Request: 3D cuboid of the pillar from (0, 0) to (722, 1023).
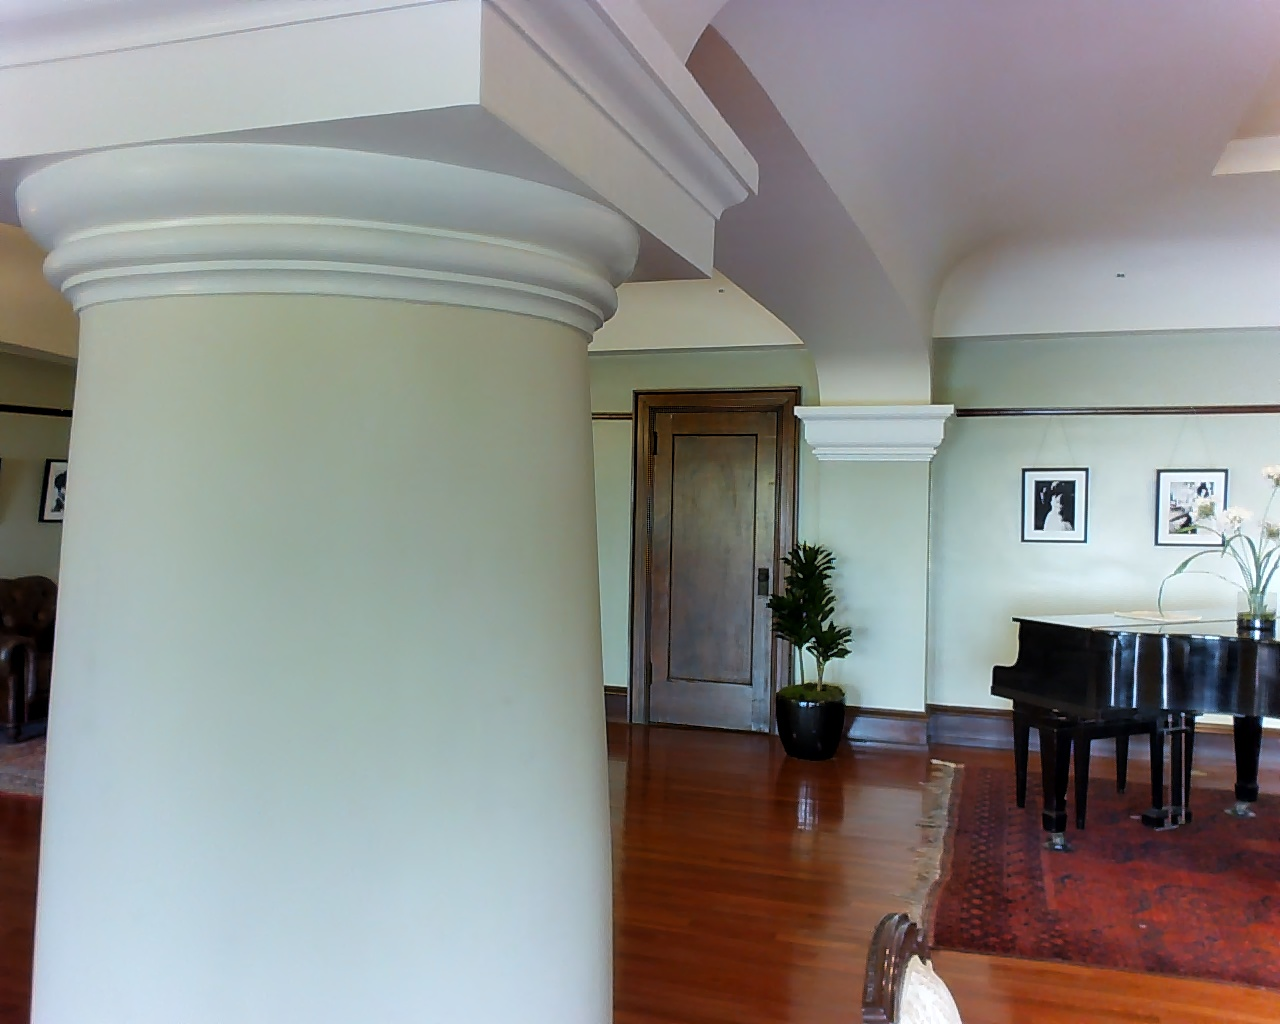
[{"bbox_3d":[-0.430,0.400,1.390,0.880,2.130,0.700,1,1,19],"label":"pillar"}]
